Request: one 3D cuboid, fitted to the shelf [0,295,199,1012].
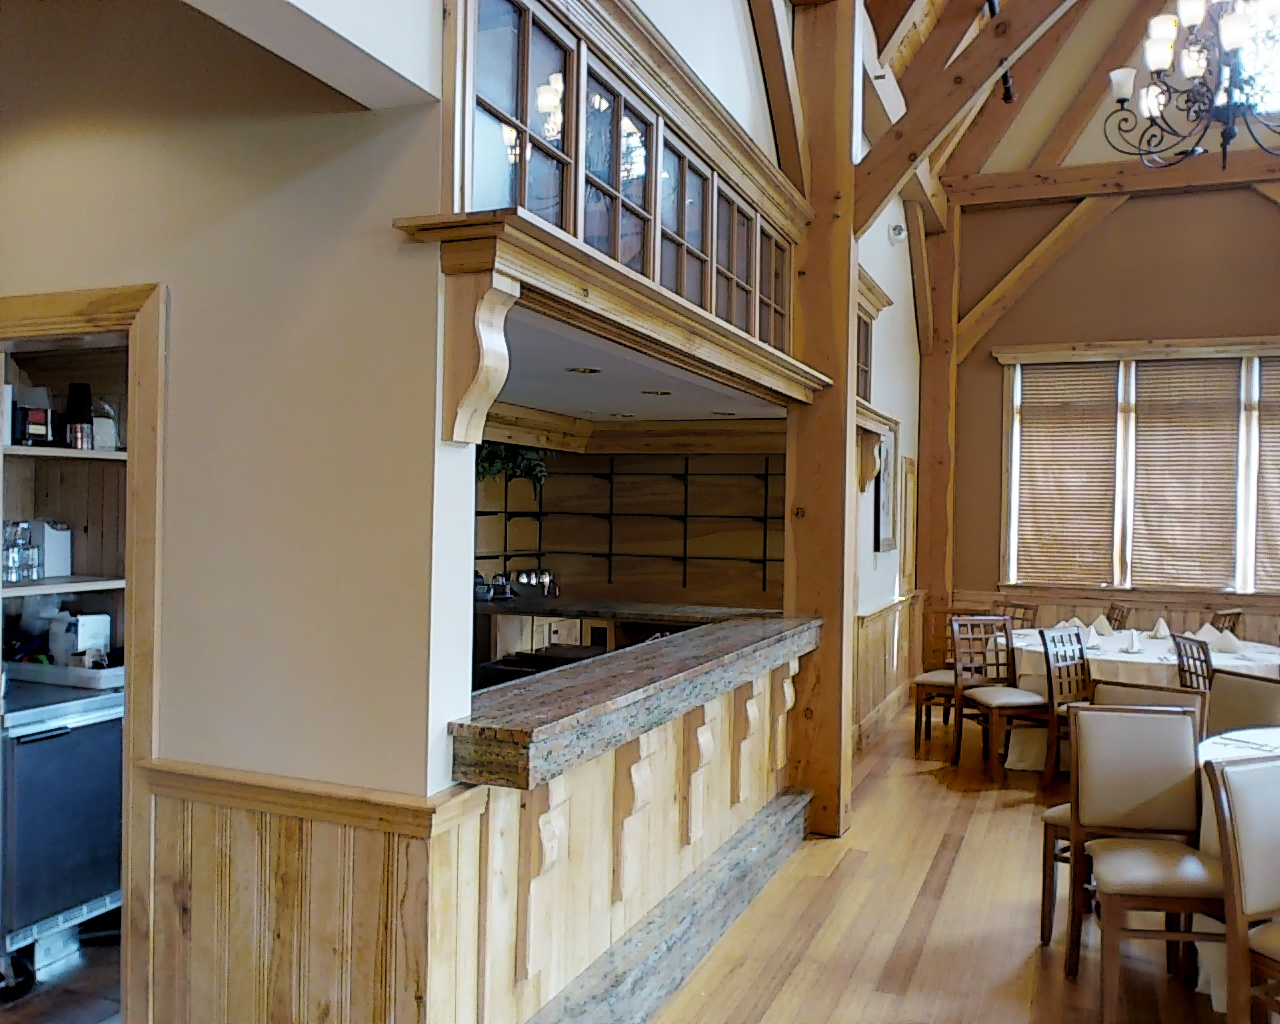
[{"bbox_3d":[-2.150,0.420,3.720,0.830,2.160,0.740,1,0,22],"label":"shelf"}]
